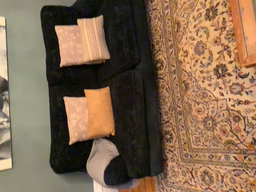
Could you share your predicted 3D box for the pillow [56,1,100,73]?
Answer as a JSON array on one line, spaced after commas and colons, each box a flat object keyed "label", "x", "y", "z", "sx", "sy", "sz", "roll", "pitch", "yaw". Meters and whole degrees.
[{"label": "pillow", "x": -0.460, "y": -0.530, "z": 2.040, "sx": 0.220, "sy": 0.540, "sz": 0.460, "roll": -5, "pitch": 79, "yaw": 8}]

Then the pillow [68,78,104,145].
[{"label": "pillow", "x": -0.390, "y": 0.170, "z": 2.020, "sx": 0.170, "sy": 0.480, "sz": 0.550, "roll": -6, "pitch": 78, "yaw": 6}]
